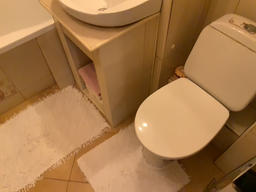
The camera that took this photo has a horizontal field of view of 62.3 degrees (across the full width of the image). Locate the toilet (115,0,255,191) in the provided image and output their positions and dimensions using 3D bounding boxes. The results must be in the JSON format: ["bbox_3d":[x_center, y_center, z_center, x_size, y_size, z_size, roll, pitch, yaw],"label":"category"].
[{"bbox_3d":[0.340,0.050,1.120,0.680,0.800,0.390,-34,62,-20],"label":"toilet"}]
